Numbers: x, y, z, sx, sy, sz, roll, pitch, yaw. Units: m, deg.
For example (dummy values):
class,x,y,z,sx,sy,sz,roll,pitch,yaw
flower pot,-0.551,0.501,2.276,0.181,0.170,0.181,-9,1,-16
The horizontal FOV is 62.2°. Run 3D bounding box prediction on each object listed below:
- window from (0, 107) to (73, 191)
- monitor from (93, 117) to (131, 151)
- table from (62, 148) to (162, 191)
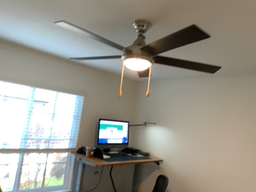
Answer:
class,x,y,z,sx,sy,sz,roll,pitch,yaw
window,-1.510,0.760,2.810,1.530,1.170,0.040,13,-8,-43
monitor,-0.230,0.620,3.360,0.040,0.490,0.620,9,-6,46
table,-0.230,1.410,3.190,1.240,1.080,0.780,13,-8,-43
